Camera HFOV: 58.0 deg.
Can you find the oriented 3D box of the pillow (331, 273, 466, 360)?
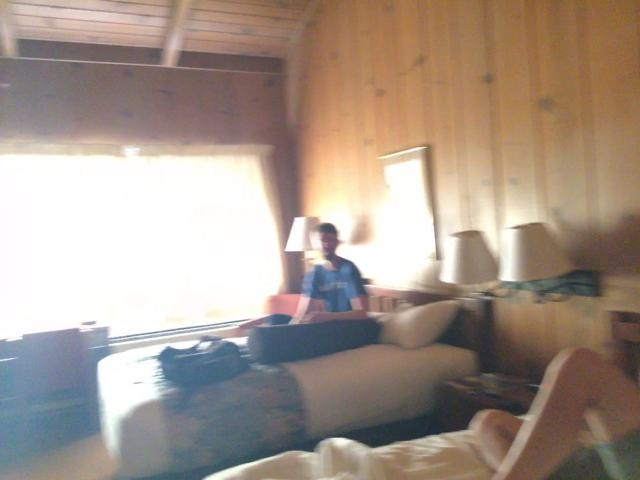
[{"bbox_3d":[0.440,0.420,3.410,0.460,0.330,0.700,-6,5,-25],"label":"pillow"}]

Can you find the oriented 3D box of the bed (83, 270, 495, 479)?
[{"bbox_3d":[-0.270,0.780,3.310,1.890,0.850,1.490,-6,5,-24],"label":"bed"}]

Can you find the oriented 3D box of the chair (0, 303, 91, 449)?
[{"bbox_3d":[-1.930,0.920,4.060,0.500,0.820,0.490,-6,5,-24],"label":"chair"}]
